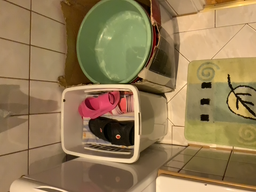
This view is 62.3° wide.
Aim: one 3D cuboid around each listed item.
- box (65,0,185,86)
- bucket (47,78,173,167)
[{"bbox_3d":[0.000,-0.270,1.220,0.520,0.440,0.380,5,92,28],"label":"box"},{"bbox_3d":[-0.070,0.100,1.190,0.500,0.500,0.360,3,91,28],"label":"bucket"}]
